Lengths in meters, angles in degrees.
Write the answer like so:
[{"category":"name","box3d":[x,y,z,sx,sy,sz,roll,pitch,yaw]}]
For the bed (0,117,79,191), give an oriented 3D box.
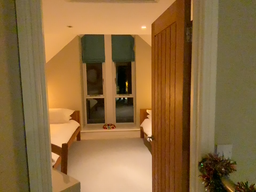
[{"category":"bed","box3d":[-1.590,0.860,3.750,1.110,0.530,2.090,-2,6,-4]}]
